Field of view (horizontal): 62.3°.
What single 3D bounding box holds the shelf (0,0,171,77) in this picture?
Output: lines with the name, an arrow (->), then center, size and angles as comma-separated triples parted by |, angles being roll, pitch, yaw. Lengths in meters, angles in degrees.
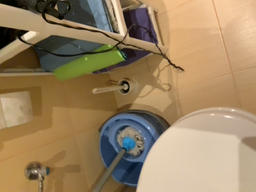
shelf -> -0.220, -0.220, 0.660 | 0.370, 0.990, 0.230 | -14, 89, 30
